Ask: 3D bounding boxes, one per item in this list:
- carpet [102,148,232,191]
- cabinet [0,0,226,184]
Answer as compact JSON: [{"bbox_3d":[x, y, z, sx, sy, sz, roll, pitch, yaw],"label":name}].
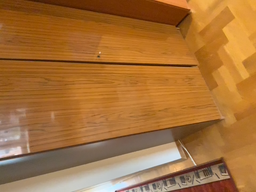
[{"bbox_3d":[0.270,1.240,2.350,2.060,0.080,0.880,-38,63,50],"label":"carpet"},{"bbox_3d":[-0.280,-0.060,1.460,0.590,1.830,0.900,-42,60,49],"label":"cabinet"}]
